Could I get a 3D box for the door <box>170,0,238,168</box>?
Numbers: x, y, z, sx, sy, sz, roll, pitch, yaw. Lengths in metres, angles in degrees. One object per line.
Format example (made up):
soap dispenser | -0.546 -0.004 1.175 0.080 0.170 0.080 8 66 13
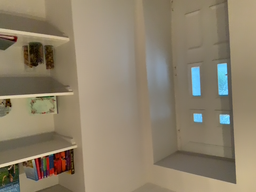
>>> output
door | 0.820 -0.230 2.370 0.690 1.950 0.030 -1 -177 44
